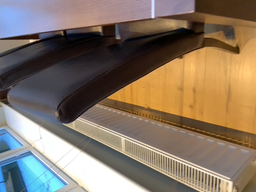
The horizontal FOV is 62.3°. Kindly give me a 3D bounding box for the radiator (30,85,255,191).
[{"bbox_3d":[-0.100,0.170,1.420,1.710,0.400,0.180,14,111,43],"label":"radiator"}]
